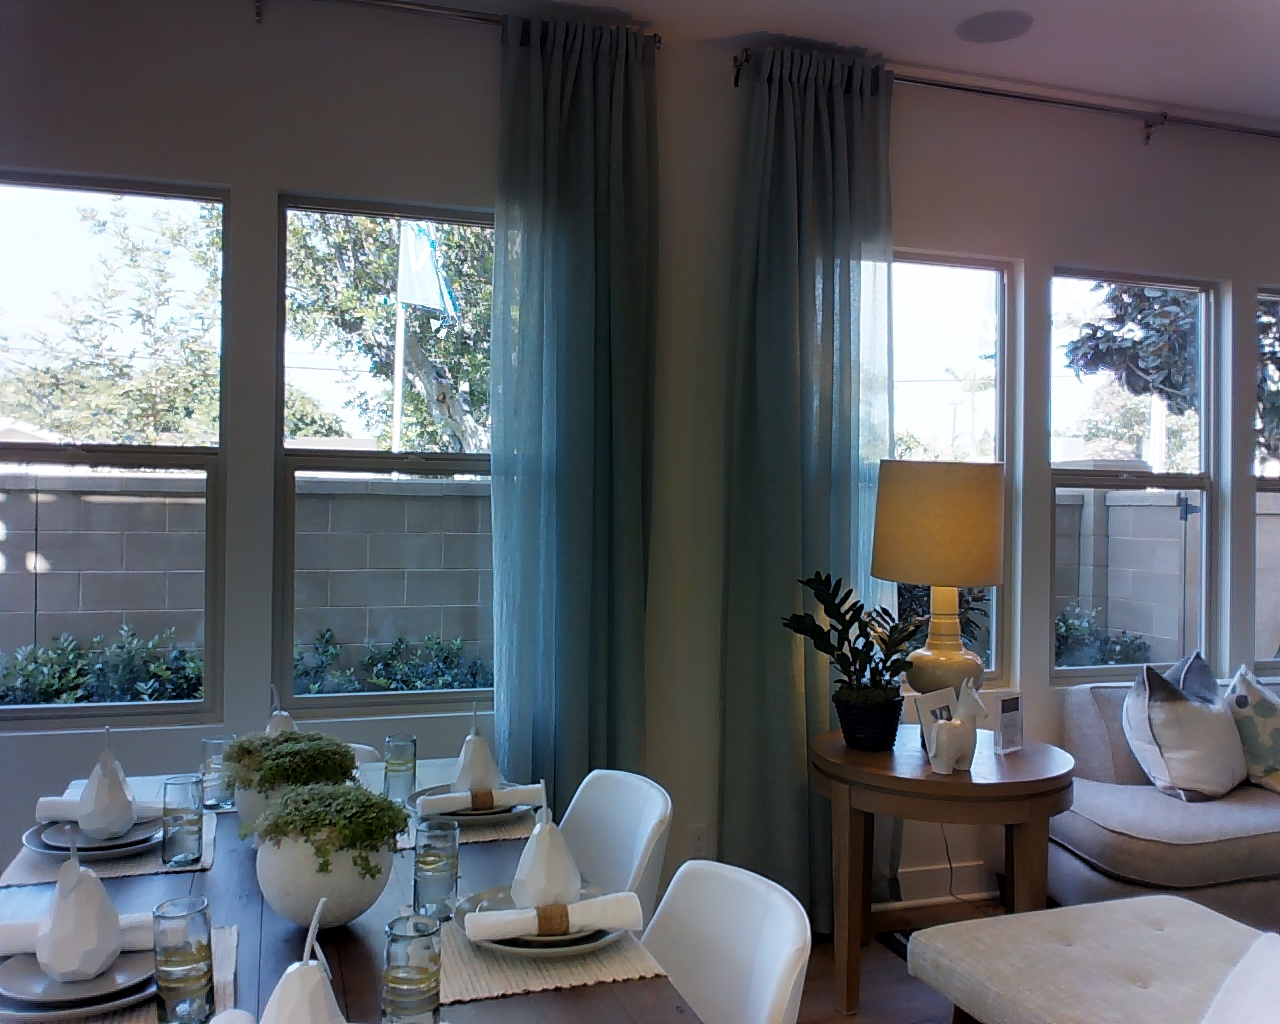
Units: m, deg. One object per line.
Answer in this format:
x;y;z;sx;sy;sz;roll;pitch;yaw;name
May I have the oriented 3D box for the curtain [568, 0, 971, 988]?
0.440;-0.060;3.620;1.260;3.051;0.340;1;0;-17;curtain
